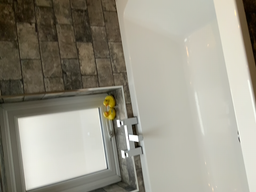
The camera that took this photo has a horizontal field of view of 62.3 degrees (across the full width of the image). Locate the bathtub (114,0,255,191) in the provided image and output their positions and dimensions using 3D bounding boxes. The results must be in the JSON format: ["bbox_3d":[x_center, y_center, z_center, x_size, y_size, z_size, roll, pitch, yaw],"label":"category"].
[{"bbox_3d":[0.480,0.200,1.100,0.810,0.560,2.230,-17,81,61],"label":"bathtub"}]
